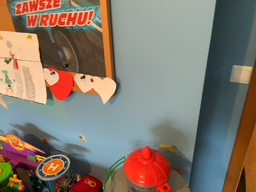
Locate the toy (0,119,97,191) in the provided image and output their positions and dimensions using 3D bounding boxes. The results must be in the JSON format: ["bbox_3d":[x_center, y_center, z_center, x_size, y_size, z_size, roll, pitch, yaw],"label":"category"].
[{"bbox_3d":[-0.370,0.240,0.760,0.480,0.230,0.140,9,30,17],"label":"toy"}]
